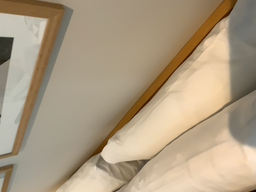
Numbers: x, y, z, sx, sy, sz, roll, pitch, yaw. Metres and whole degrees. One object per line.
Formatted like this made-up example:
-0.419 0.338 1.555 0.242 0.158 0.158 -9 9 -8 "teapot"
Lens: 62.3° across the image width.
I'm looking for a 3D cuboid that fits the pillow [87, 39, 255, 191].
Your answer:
0.250 0.200 0.600 0.750 0.360 0.360 -44 63 43 "pillow"
